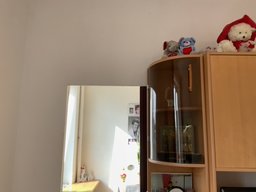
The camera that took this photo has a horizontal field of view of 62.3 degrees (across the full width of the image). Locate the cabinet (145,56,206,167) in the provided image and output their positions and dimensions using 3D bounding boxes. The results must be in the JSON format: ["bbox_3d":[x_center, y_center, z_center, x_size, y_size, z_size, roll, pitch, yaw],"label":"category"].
[{"bbox_3d":[0.320,0.110,1.560,0.370,0.730,0.310,1,-9,3],"label":"cabinet"}]
